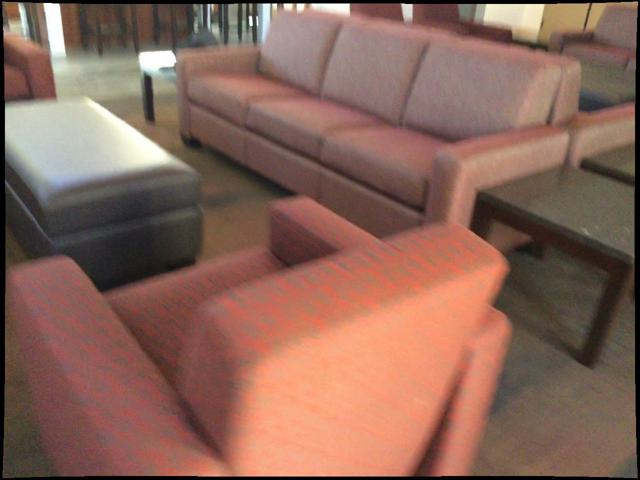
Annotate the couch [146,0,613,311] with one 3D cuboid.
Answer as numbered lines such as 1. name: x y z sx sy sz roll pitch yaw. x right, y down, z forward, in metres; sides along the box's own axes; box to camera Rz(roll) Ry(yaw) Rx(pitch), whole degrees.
1. couch: 0.050 -0.701 3.080 0.890 0.841 2.429 -19 36 -35

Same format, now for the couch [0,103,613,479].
1. couch: -0.180 0.270 1.330 0.919 0.811 1.040 -17 34 -32
